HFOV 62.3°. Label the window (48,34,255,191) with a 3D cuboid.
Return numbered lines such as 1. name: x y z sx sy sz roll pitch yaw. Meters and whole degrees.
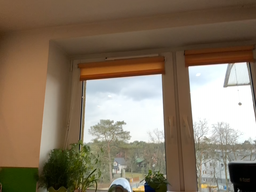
1. window: 0.290 0.160 1.460 1.670 1.110 0.120 -2 -13 9
